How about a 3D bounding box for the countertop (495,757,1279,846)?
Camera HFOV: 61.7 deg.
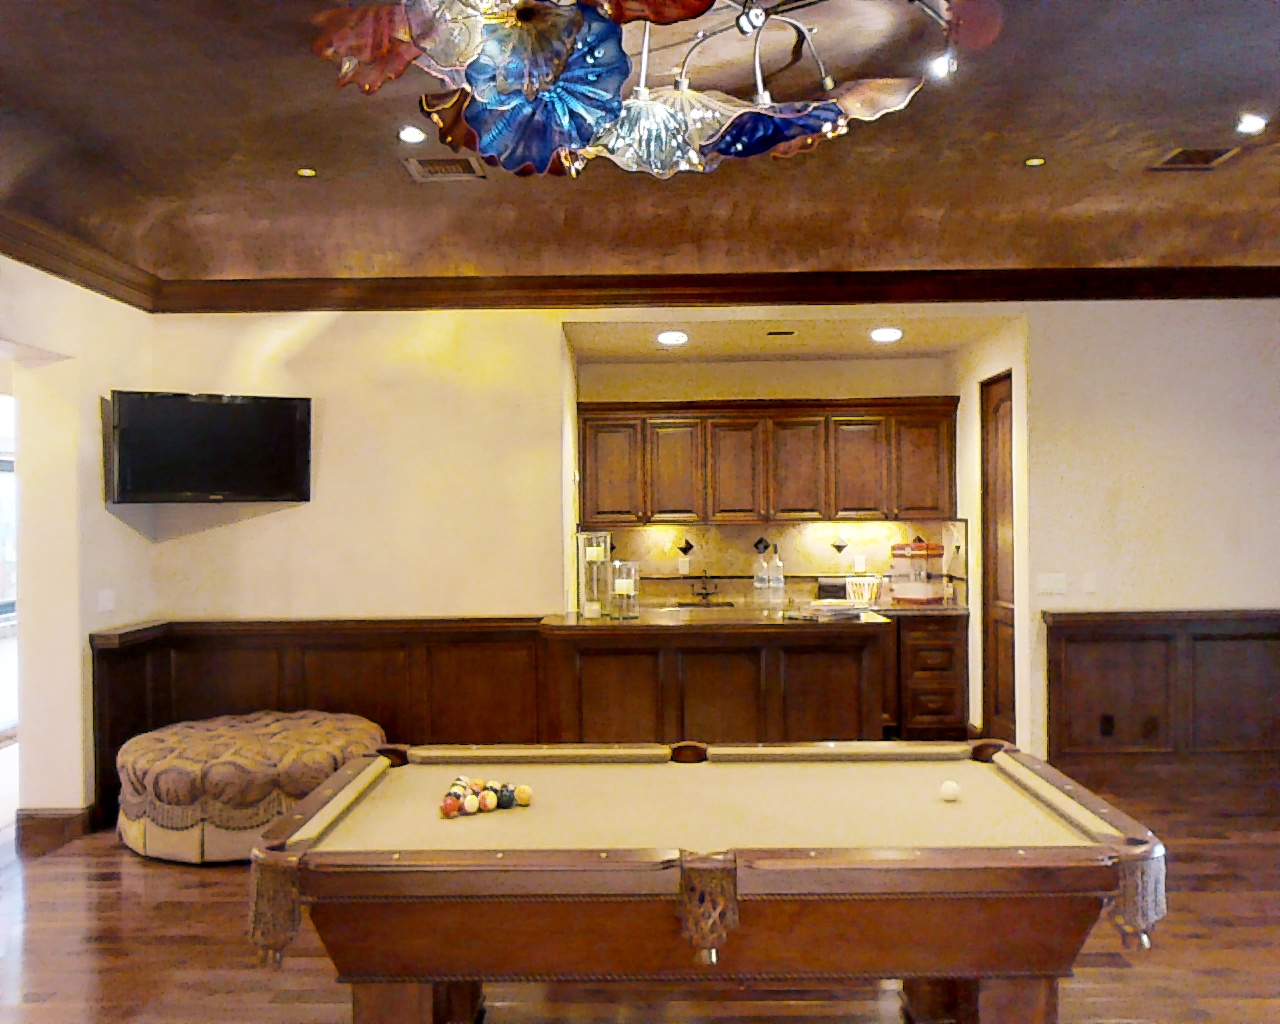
[{"bbox_3d":[0.960,0.830,3.120,2.670,0.060,0.660,-1,0,1],"label":"countertop"}]
